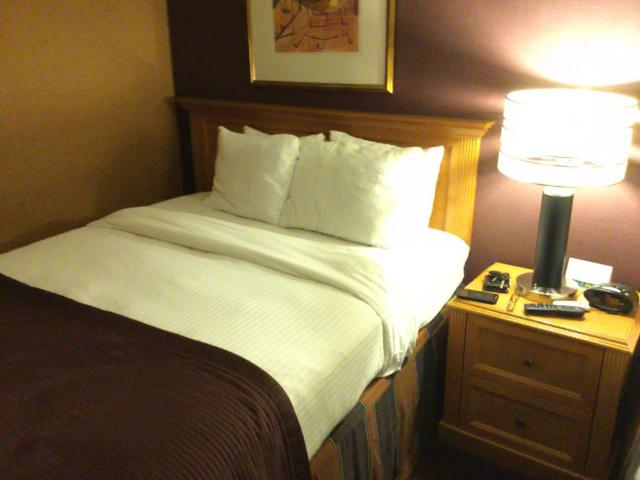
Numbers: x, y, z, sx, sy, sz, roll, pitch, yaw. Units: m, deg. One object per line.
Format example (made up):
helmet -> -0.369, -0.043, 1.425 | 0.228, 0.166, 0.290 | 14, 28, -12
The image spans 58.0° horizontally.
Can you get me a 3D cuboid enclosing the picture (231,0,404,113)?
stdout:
picture -> -0.040, -1.100, 2.430 | 0.830, 1.060, 0.090 | 11, 22, 33
